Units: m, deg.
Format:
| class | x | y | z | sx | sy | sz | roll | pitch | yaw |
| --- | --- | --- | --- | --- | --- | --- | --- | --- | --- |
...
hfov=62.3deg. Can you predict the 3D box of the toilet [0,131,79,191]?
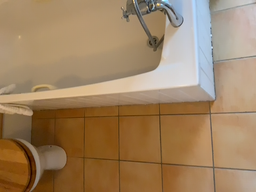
| class | x | y | z | sx | sy | sz | roll | pitch | yaw |
| --- | --- | --- | --- | --- | --- | --- | --- | --- | --- |
| toilet | -0.850 | 0.470 | 1.420 | 0.680 | 0.760 | 0.420 | -5 | 83 | 26 |
